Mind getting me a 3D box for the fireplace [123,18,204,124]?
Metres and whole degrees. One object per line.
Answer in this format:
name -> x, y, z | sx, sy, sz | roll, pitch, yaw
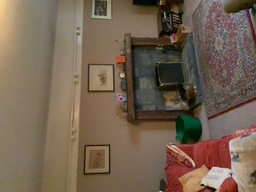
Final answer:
fireplace -> 0.560, -0.450, 3.990 | 0.750, 1.180, 1.790 | 108, 160, -69
